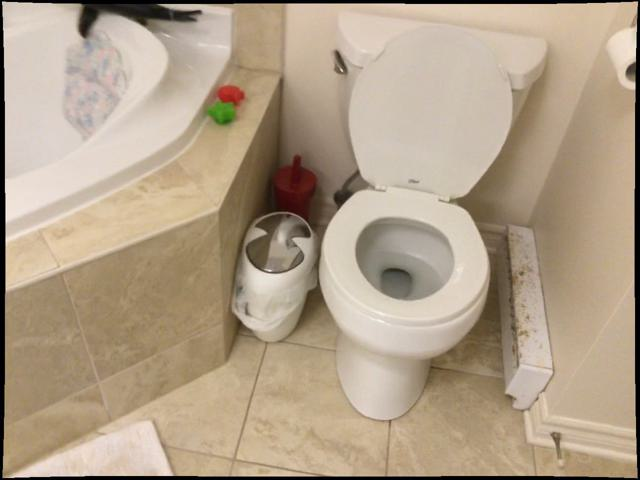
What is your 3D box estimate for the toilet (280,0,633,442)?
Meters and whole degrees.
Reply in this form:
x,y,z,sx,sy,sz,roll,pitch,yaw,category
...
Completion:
x,y,z,sx,sy,sz,roll,pitch,yaw,category
0.230,-0.070,1.350,0.490,0.750,0.680,9,43,3,toilet
